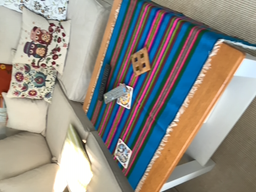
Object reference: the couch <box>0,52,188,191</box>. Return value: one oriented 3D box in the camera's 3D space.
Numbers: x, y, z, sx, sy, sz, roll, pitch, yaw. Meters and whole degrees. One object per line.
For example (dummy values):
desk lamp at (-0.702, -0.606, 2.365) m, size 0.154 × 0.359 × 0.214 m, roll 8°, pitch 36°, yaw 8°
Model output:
couch at (-0.470, 0.640, 1.640) m, size 2.210 × 0.890 × 0.980 m, roll 48°, pitch 126°, yaw 39°
